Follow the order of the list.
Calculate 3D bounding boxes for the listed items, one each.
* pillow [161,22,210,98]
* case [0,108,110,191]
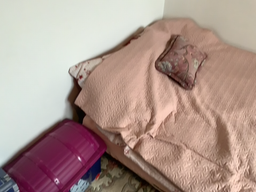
[{"bbox_3d":[0.460,-0.280,1.650,0.110,0.270,0.520,-14,45,52],"label":"pillow"},{"bbox_3d":[-0.430,0.440,1.360,0.360,0.390,0.520,29,49,27],"label":"case"}]
